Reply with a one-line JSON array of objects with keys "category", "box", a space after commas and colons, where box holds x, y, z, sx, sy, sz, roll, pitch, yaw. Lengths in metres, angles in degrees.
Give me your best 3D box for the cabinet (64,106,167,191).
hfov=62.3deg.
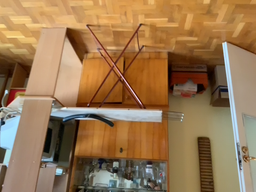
[{"category": "cabinet", "box": [-0.100, 0.920, 2.060, 0.890, 1.530, 0.500, 2, 158, 4]}]
